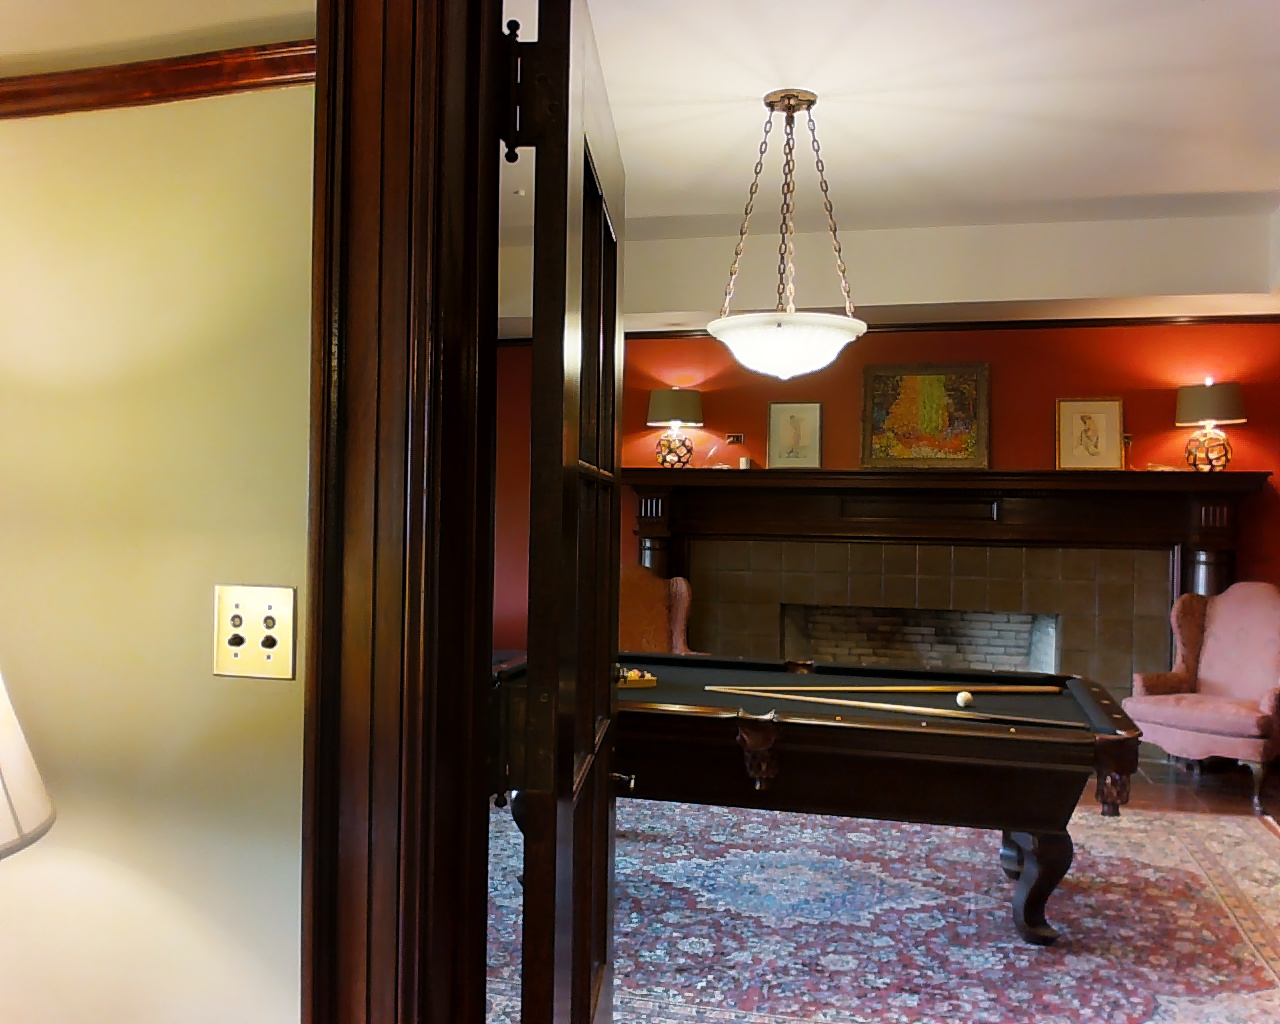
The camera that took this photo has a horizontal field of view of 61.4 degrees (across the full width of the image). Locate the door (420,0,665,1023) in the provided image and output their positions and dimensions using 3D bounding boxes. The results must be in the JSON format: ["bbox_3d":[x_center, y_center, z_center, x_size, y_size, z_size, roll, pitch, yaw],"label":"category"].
[{"bbox_3d":[-0.120,0.270,1.990,0.210,2.490,1.160,1,0,6],"label":"door"}]

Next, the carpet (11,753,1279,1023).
[{"bbox_3d":[0.630,1.490,4.310,4.369,0.050,3.300,1,0,14],"label":"carpet"}]
